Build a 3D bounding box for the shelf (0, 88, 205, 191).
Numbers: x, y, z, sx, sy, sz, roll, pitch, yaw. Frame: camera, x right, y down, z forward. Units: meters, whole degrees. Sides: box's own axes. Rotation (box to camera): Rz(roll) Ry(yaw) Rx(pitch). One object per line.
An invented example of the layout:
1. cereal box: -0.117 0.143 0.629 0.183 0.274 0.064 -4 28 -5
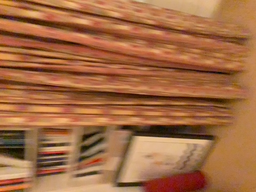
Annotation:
1. shelf: -0.630 0.360 1.600 0.300 2.710 0.760 47 129 53
